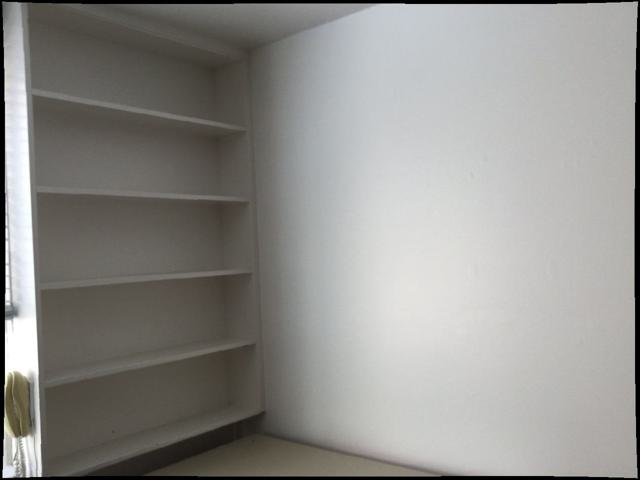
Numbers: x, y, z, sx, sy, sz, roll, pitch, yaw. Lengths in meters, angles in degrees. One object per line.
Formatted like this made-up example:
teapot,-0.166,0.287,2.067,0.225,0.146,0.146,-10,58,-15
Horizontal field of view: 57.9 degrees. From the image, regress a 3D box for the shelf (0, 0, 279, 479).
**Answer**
shelf,-0.649,0.010,2.190,0.300,1.672,1.010,-2,2,38
